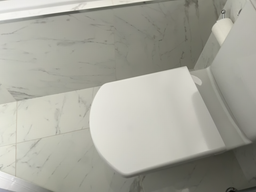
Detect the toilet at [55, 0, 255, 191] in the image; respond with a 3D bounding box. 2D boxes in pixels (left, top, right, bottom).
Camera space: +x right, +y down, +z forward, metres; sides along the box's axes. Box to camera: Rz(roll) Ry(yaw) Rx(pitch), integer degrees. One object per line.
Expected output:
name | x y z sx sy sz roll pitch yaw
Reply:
toilet | 0.190 0.050 0.810 0.690 0.780 0.400 -11 62 -8
